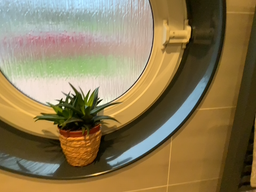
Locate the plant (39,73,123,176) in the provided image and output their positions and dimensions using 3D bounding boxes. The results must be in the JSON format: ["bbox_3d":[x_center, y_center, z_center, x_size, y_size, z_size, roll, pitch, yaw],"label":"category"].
[{"bbox_3d":[-0.160,0.090,0.780,0.250,0.300,0.190,-4,21,-13],"label":"plant"}]
